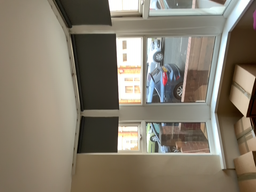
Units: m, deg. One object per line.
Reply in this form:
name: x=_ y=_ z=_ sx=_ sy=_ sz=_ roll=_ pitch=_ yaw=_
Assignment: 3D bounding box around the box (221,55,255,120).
box: x=1.500 y=-0.110 z=2.410 sx=0.540 sy=0.570 sz=0.570 roll=-89 pitch=-1 yaw=-64
